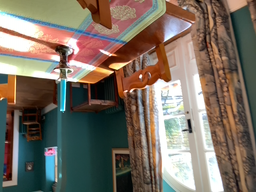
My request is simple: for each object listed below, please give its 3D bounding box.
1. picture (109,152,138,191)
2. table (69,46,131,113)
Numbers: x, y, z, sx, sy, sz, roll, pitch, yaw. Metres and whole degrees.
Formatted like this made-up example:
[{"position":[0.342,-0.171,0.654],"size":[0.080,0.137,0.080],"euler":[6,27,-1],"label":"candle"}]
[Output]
[{"position":[-0.080,1.110,2.970],"size":[0.070,0.620,0.570],"euler":[4,165,-35],"label":"picture"},{"position":[-0.440,-0.180,3.100],"size":[0.590,0.760,0.740],"euler":[4,166,-34],"label":"table"}]
